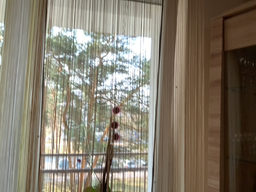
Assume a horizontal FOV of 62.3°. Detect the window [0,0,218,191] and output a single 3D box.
[{"bbox_3d":[-0.040,0.050,1.050,0.980,1.480,0.210,4,-5,-17],"label":"window"}]
